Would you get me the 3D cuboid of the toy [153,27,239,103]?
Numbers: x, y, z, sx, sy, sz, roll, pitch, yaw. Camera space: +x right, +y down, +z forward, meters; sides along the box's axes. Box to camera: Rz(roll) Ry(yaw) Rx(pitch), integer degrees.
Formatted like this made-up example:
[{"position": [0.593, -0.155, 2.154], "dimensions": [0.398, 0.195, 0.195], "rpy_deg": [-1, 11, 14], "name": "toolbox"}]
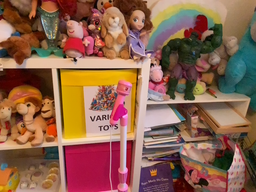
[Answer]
[{"position": [0.380, -0.180, 1.250], "dimensions": [0.400, 0.410, 0.140], "rpy_deg": [-2, 23, -12], "name": "toy"}]
